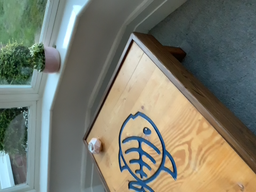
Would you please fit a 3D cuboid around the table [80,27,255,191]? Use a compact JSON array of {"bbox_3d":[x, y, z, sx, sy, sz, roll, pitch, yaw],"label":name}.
[{"bbox_3d":[0.170,0.250,1.090,0.820,0.340,0.820,55,131,34],"label":"table"}]
